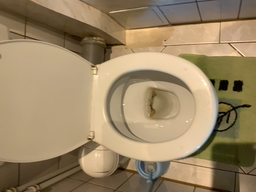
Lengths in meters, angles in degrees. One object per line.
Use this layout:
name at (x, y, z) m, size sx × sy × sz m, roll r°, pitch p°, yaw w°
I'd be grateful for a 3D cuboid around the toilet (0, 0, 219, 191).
toilet at (-0.100, 0.010, 0.690) m, size 0.700 × 0.920 × 0.460 m, roll 4°, pitch 91°, yaw 23°
